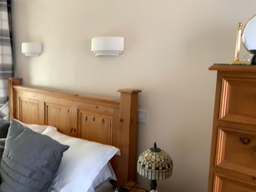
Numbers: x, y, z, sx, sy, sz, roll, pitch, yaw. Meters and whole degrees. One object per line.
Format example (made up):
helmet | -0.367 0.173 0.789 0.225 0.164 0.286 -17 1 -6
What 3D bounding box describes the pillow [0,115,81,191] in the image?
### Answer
pillow | -0.940 0.390 1.550 1.230 0.310 0.430 6 9 33
